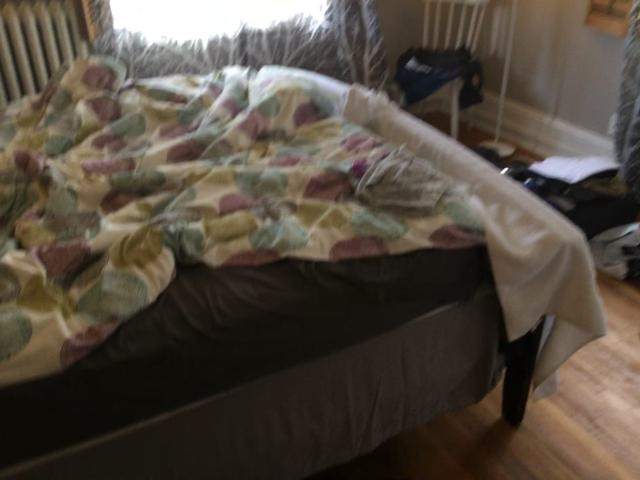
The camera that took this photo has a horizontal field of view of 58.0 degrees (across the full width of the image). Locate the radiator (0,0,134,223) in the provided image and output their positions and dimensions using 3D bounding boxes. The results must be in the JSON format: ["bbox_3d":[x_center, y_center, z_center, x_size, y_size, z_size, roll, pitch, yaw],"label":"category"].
[{"bbox_3d":[-1.330,-0.650,2.730,0.630,0.950,0.340,-18,36,-24],"label":"radiator"}]

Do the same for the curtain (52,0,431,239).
[{"bbox_3d":[-0.350,-1.290,2.710,1.670,2.100,0.710,-18,36,-24],"label":"curtain"}]
